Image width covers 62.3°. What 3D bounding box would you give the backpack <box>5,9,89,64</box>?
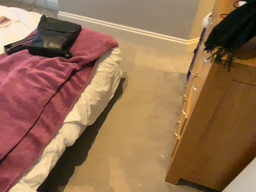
[{"bbox_3d":[-0.540,-0.440,1.500,0.380,0.110,0.430,14,47,8],"label":"backpack"}]
